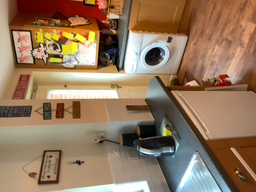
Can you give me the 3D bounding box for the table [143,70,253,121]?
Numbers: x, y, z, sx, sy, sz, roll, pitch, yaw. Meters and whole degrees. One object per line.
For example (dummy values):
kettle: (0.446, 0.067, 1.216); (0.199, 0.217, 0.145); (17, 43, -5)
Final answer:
table: (0.650, -0.010, 2.030); (0.290, 0.920, 0.350); (-114, 28, -53)
